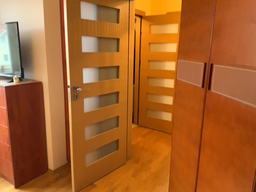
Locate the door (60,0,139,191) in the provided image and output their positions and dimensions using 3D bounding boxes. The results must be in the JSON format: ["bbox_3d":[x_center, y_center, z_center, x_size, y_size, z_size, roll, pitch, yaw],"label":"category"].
[{"bbox_3d":[-0.260,-0.040,2.330,0.130,2.010,0.930,12,16,39],"label":"door"}]
